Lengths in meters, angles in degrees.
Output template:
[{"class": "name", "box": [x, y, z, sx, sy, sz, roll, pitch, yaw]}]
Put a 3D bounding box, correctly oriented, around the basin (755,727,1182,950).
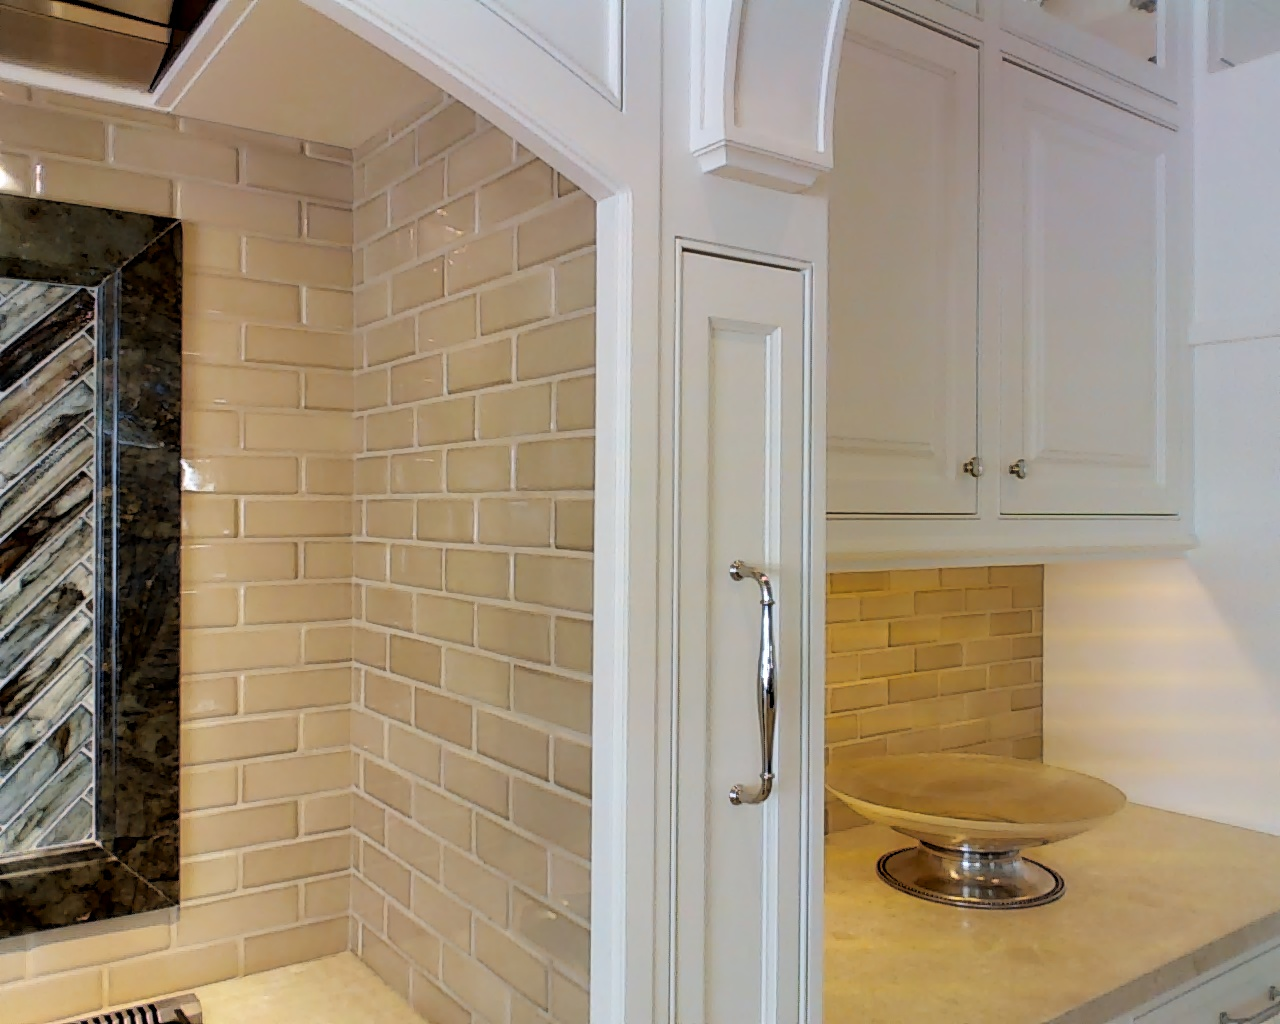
[{"class": "basin", "box": [0.520, 0.490, 1.720, 0.490, 0.160, 0.450, 1, 0, -36]}]
